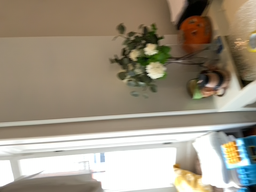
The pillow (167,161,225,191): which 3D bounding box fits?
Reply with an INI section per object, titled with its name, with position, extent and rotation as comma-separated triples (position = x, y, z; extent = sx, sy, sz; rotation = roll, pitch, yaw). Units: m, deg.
[pillow]
position = 0.640, 0.870, 2.000
extent = 0.170, 0.470, 0.380
rotation = -18, -76, -49
